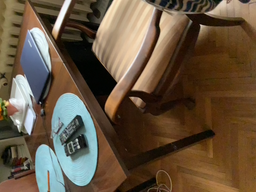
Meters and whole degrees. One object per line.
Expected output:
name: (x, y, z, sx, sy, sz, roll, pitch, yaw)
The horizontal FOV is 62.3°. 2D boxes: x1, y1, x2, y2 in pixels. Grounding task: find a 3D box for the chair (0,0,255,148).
chair: (0.040, -0.290, 0.930, 0.570, 0.940, 0.610, 54, 129, 29)
